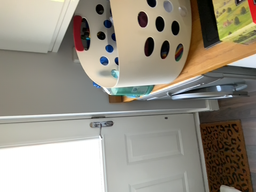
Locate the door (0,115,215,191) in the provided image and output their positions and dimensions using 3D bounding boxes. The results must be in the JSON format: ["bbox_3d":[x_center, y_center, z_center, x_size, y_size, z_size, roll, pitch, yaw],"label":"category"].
[{"bbox_3d":[-0.210,0.610,1.430,0.060,2.110,0.850,-27,67,59],"label":"door"}]

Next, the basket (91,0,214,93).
[{"bbox_3d":[0.060,-0.330,0.830,0.290,0.310,0.590,-24,70,59],"label":"basket"}]
